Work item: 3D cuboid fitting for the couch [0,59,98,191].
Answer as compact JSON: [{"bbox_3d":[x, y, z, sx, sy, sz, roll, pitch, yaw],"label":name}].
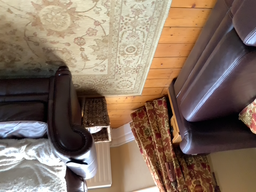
[{"bbox_3d":[-0.800,0.380,1.630,1.080,0.850,0.980,-3,151,-9],"label":"couch"}]
